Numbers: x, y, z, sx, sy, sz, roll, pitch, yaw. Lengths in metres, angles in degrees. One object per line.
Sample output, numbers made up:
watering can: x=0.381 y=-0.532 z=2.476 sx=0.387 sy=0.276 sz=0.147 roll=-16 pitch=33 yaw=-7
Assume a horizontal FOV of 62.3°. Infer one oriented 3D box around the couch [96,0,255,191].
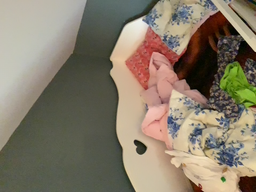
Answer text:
couch: x=0.430 y=0.070 z=1.210 sx=0.880 sy=0.740 sz=1.670 roll=-57 pitch=39 yaw=42
